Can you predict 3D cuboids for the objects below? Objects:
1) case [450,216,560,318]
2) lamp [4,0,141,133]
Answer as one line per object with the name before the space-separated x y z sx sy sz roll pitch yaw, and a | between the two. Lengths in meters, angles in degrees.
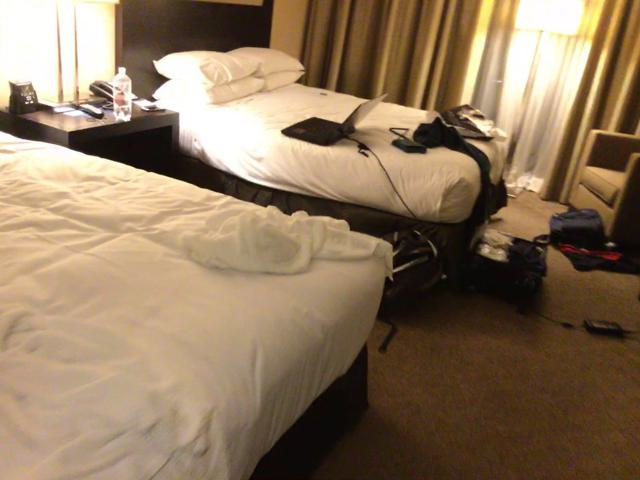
case | 1.030 0.120 3.170 0.430 0.240 0.640 18 25 22
lamp | -1.140 -1.240 2.700 0.270 1.370 0.560 18 25 22
